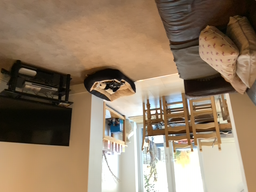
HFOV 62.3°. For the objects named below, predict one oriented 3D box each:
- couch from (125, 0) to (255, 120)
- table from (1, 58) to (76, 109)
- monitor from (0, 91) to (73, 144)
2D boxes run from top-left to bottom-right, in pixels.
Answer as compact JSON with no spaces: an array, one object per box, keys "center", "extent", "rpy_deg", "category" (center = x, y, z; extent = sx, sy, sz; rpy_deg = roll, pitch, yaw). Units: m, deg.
[{"center":[0.820,-0.490,1.680],"extent":[1.020,0.860,1.970],"rpy_deg":[-9,159,20],"category":"couch"},{"center":[-1.280,-0.140,3.100],"extent":[0.880,0.430,0.440],"rpy_deg":[14,155,-37],"category":"table"},{"center":[-1.210,0.310,2.840],"extent":[0.950,0.590,0.050],"rpy_deg":[13,155,-37],"category":"monitor"}]
